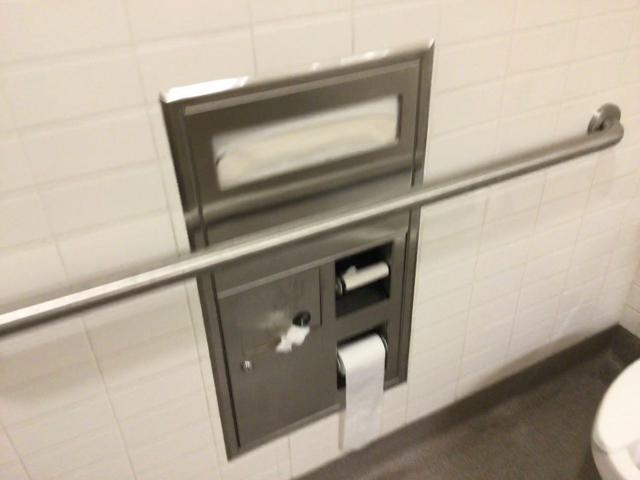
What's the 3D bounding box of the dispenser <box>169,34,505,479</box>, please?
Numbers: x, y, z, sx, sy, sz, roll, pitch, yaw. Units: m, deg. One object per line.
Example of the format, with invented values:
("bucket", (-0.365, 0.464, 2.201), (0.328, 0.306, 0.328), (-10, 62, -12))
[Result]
("dispenser", (0.010, 0.050, 1.010), (0.500, 0.750, 0.120), (-9, 30, -28))
